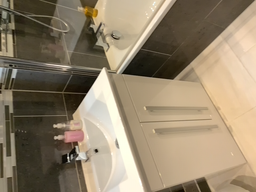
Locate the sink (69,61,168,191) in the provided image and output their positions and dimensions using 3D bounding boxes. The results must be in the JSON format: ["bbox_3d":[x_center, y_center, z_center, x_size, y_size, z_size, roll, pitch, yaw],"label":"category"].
[{"bbox_3d":[-0.110,0.220,1.100,0.470,0.130,0.630,-49,51,41],"label":"sink"}]
